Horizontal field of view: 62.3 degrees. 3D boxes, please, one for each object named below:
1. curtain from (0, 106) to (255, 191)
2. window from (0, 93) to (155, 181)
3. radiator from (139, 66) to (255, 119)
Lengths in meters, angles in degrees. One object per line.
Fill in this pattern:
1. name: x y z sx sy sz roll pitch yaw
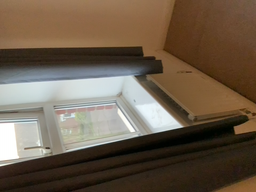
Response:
1. curtain: 0.000 0.230 0.690 0.280 1.450 0.140 50 137 51
2. window: -0.430 0.190 1.300 0.590 1.050 0.060 51 138 50
3. radiator: 0.440 -0.070 1.490 0.640 0.490 0.060 49 136 51
